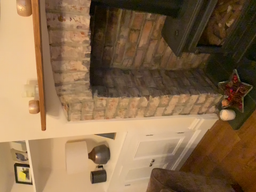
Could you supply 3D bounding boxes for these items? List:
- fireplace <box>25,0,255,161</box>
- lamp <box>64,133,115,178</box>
[{"bbox_3d":[0.260,-0.450,1.180,0.650,1.450,1.630,-111,28,-44],"label":"fireplace"},{"bbox_3d":[-0.400,0.590,2.130,0.300,0.450,0.250,-112,29,-45],"label":"lamp"}]
